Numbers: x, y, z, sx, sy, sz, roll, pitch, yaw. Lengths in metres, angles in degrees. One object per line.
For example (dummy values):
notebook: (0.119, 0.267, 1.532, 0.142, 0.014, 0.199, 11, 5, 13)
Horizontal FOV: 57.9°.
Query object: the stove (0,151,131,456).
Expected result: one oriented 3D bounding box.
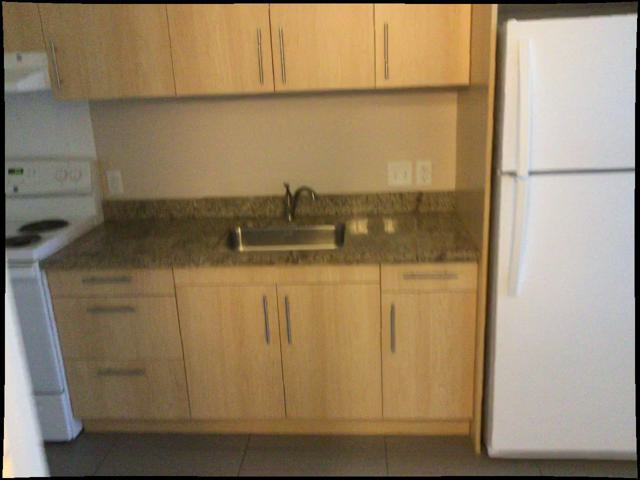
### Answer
stove: (-1.449, 0.240, 2.590, 0.849, 1.161, 0.720, 0, 17, 1)
